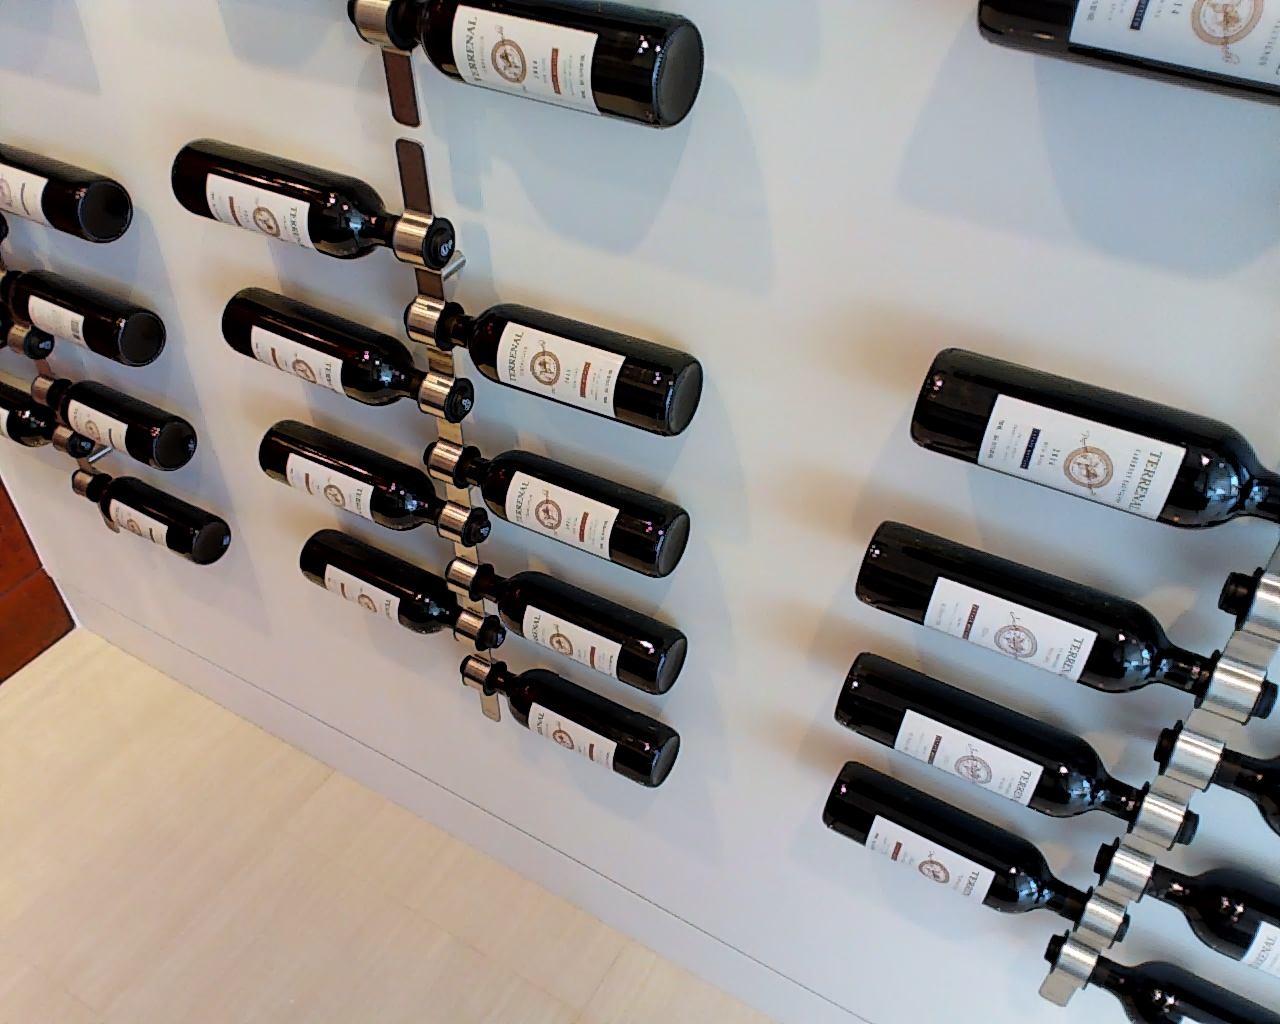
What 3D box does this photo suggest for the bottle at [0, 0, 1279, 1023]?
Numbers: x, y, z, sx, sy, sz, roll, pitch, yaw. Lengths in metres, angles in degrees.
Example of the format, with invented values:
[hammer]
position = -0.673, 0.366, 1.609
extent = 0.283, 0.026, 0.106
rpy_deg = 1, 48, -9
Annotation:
[bottle]
position = 0.120, -0.200, 0.710
extent = 2.660, 1.420, 0.210
rpy_deg = 22, 46, 23
